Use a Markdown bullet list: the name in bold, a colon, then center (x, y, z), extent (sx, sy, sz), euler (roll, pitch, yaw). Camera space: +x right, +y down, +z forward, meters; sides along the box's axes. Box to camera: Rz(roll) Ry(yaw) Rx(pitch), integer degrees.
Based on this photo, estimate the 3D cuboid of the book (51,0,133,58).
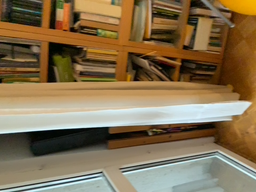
- **book**: center (-0.210, -0.430, 1.180), extent (0.310, 0.350, 0.390), euler (22, 108, 59)
